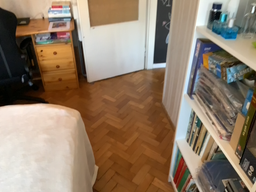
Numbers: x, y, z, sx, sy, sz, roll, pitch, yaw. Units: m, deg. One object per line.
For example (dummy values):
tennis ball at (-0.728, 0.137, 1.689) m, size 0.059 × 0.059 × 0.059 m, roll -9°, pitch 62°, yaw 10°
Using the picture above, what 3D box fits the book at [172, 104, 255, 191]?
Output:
book at (0.390, 0.300, 1.040) m, size 0.150 × 0.250 × 0.530 m, roll -4°, pitch 34°, yaw -7°

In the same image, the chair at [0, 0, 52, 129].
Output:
chair at (-1.210, -0.410, 1.980) m, size 0.650 × 1.250 × 0.680 m, roll -13°, pitch 36°, yaw -20°

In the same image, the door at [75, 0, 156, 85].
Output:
door at (-0.110, -1.130, 2.350) m, size 0.950 × 2.050 × 0.110 m, roll -15°, pitch 37°, yaw -22°

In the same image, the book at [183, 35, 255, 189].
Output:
book at (0.410, 0.000, 0.820) m, size 0.140 × 0.290 × 0.580 m, roll -5°, pitch 34°, yaw -8°
